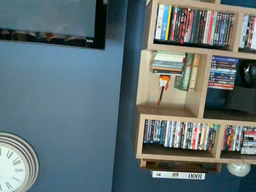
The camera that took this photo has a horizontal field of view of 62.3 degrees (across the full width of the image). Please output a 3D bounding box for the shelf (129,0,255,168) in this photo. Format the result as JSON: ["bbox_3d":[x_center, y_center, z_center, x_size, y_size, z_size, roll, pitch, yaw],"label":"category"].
[{"bbox_3d":[0.600,-0.470,1.390,0.980,1.810,0.360,5,-171,-7],"label":"shelf"}]
